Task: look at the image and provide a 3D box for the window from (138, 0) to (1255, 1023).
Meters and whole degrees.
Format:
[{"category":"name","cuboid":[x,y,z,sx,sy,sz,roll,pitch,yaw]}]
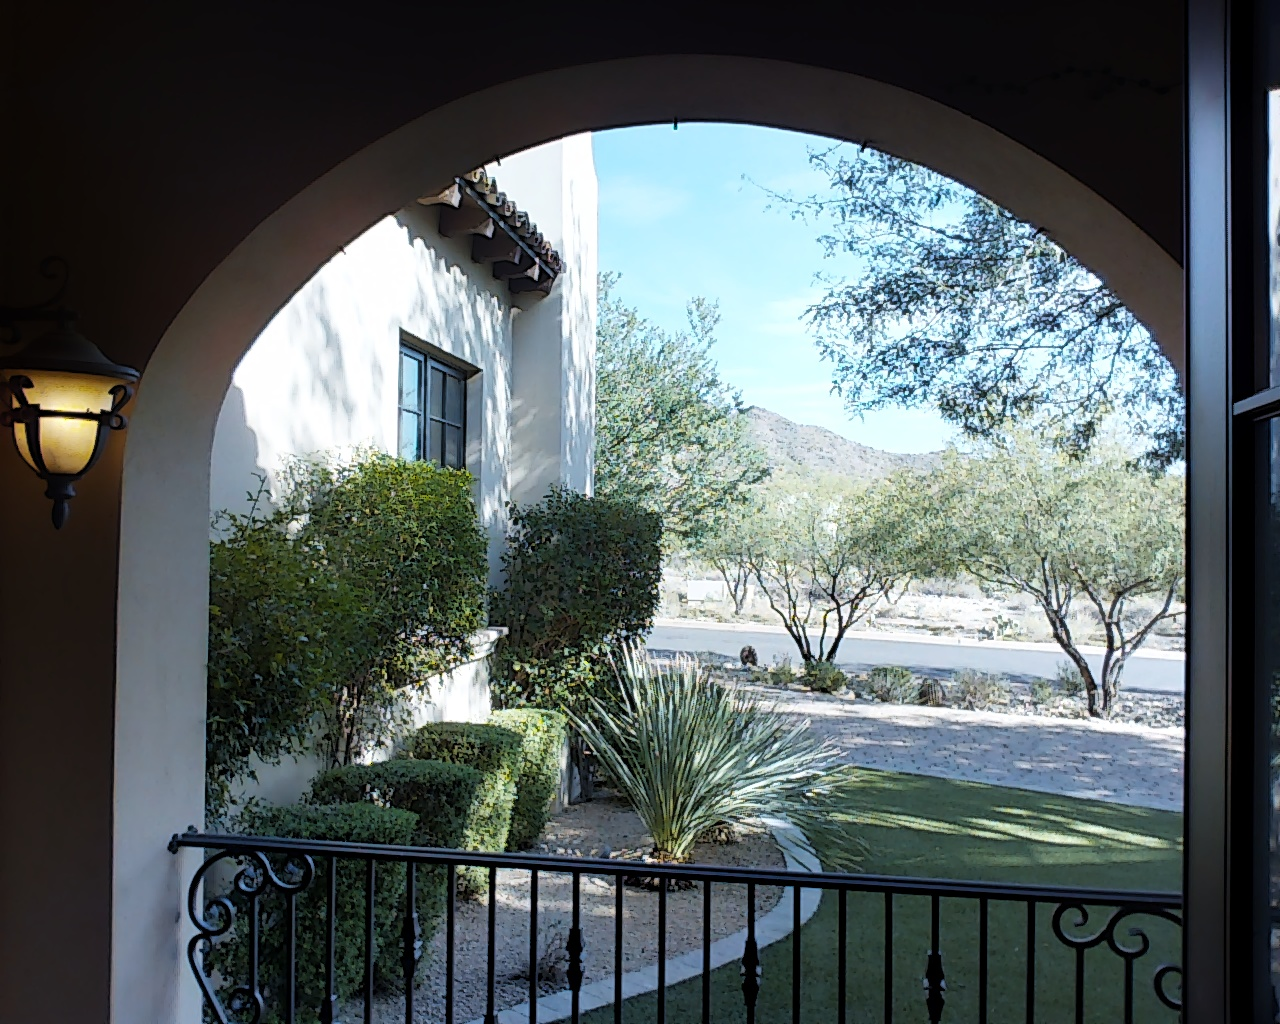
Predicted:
[{"category":"window","cuboid":[0.060,0.330,2.430,2.340,2.730,0.340,1,-1,9]}]
